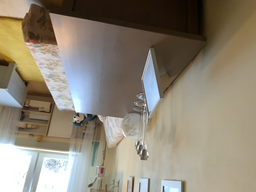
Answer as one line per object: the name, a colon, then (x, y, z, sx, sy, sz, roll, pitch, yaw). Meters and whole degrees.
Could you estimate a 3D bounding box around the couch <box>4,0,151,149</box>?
couch: (-0.470, 0.020, 2.680, 1.020, 0.950, 2.060, 8, 159, -5)

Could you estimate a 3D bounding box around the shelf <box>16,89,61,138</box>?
shelf: (-1.640, 0.320, 3.940, 0.560, 0.810, 0.250, 8, 159, -6)
